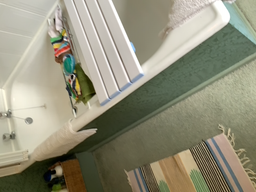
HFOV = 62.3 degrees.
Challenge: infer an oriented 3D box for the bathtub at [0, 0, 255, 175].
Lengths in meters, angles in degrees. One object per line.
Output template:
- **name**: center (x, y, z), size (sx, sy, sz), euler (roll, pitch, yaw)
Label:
- **bathtub**: center (-0.220, -0.140, 1.420), size (1.700, 0.590, 0.730), euler (-36, 67, 35)
